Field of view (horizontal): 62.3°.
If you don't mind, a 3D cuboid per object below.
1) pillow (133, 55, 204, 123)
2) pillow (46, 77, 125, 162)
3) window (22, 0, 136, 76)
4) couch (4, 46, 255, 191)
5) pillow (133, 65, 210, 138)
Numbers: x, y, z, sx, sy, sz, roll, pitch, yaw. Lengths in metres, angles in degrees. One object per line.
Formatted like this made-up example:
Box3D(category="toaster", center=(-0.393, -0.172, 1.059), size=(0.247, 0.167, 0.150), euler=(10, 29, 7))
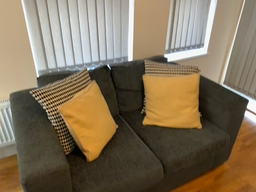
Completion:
Box3D(category="pillow", center=(0.320, -0.050, 1.710), size=(0.450, 0.420, 0.120), euler=(-15, -1, 13))
Box3D(category="pillow", center=(-0.250, 0.120, 1.430), size=(0.200, 0.460, 0.500), euler=(-10, 1, 22))
Box3D(category="window", center=(-0.330, -0.910, 1.560), size=(0.900, 1.490, 0.030), euler=(-14, 34, -25))
Box3D(category="couch", center=(-0.020, 0.220, 1.690), size=(1.510, 0.770, 1.050), euler=(-14, 34, -25))
Box3D(category="pillow", center=(0.320, 0.040, 1.600), size=(0.450, 0.430, 0.130), euler=(-16, 6, 10))
